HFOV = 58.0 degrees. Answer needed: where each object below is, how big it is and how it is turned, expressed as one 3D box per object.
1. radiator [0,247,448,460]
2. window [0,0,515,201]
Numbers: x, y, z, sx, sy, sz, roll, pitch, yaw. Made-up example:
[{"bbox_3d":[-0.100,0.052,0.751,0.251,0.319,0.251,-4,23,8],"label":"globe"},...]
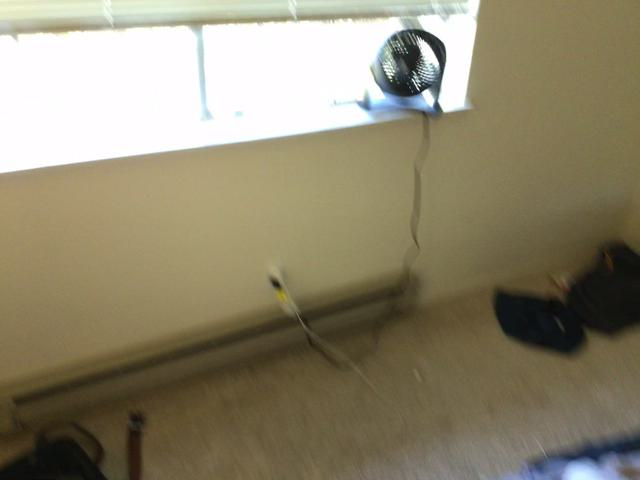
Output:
[{"bbox_3d":[-0.280,0.340,1.970,1.650,0.270,0.120,-13,31,-24],"label":"radiator"},{"bbox_3d":[-0.270,-0.760,1.400,1.880,1.180,0.140,-12,31,-23],"label":"window"}]
